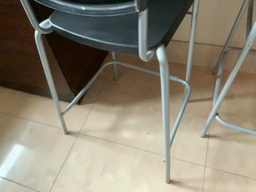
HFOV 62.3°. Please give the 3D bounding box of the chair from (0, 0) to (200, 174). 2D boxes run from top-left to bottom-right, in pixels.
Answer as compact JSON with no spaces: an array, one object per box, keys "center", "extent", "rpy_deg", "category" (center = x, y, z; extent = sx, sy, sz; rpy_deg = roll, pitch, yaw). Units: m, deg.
[{"center":[-0.010,-0.140,0.700],"extent":[0.350,0.870,0.410],"rpy_deg":[18,56,18],"category":"chair"}]
